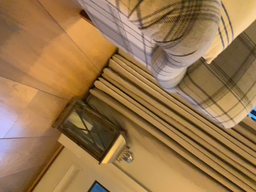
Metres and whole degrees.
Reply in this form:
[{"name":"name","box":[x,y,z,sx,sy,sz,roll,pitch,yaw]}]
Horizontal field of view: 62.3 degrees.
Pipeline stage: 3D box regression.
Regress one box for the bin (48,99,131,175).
[{"name":"bin","box":[-0.270,0.280,1.560,0.290,0.470,0.230,-55,171,2]}]
